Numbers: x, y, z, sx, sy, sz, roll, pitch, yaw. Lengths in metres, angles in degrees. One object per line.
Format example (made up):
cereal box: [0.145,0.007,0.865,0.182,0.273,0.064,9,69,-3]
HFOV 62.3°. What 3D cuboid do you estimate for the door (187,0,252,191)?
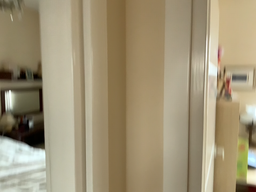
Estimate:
door: [0.460,0.540,1.110,0.150,2.170,1.020,2,6,24]
